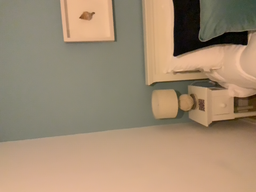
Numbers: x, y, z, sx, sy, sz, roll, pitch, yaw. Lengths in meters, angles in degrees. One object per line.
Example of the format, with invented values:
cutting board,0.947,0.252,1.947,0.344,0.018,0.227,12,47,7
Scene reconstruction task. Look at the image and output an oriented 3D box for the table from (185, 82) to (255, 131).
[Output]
table,0.910,0.070,1.940,0.400,0.640,0.340,-143,50,-77
